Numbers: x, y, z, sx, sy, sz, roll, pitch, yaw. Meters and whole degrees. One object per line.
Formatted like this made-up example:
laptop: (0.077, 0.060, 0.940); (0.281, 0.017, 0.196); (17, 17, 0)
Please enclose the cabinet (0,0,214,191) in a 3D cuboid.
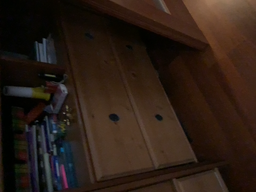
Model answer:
cabinet: (-0.210, 0.010, 1.050); (0.480, 0.860, 0.930); (-43, 55, 37)
